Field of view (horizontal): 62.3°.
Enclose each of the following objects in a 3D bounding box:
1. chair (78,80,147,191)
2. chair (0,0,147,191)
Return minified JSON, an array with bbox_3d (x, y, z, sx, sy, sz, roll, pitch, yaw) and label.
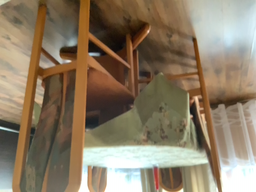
[{"bbox_3d":[-0.150,0.430,2.130,0.490,1.030,0.400,-13,156,25],"label":"chair"},{"bbox_3d":[-0.230,0.030,1.140,0.460,1.020,0.530,-11,157,21],"label":"chair"}]
